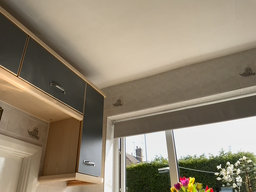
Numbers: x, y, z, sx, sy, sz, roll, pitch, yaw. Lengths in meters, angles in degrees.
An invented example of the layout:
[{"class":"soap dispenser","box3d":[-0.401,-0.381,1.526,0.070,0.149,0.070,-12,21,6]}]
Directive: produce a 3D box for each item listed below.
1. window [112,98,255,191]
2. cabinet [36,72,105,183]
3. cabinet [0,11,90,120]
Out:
[{"class":"window","box3d":[0.680,0.590,1.730,1.760,0.970,0.180,-15,-31,23]},{"class":"cabinet","box3d":[-0.440,0.270,1.790,0.350,0.820,0.340,-14,-30,21]},{"class":"cabinet","box3d":[-0.760,-0.220,1.280,0.340,0.320,1.190,-17,-32,27]}]
